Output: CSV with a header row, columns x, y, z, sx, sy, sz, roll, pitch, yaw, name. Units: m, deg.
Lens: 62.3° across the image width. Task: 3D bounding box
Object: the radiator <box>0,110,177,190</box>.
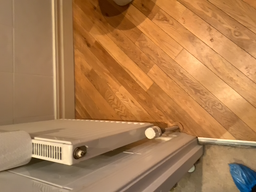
x,y,z,sx,sy,sz,roll,pitch,yaw,name
-0.240,0.160,0.980,0.740,0.660,0.130,-1,90,30,radiator
